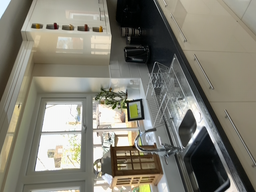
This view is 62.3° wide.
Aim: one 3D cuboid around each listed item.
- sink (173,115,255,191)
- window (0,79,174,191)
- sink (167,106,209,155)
[{"bbox_3d":[0.500,0.420,1.260,0.480,0.230,0.390,101,163,-46],"label":"sink"},{"bbox_3d":[-0.310,0.630,1.580,0.280,1.190,1.910,102,163,-46],"label":"window"},{"bbox_3d":[0.410,0.250,1.510,0.290,0.140,0.210,101,163,-46],"label":"sink"}]
